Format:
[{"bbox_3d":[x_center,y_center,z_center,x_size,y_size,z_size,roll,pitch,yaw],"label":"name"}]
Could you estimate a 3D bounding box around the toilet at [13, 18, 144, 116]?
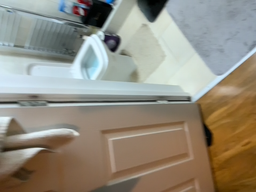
[{"bbox_3d":[-0.420,-0.190,1.810,0.540,0.870,0.460,-49,54,38],"label":"toilet"}]
